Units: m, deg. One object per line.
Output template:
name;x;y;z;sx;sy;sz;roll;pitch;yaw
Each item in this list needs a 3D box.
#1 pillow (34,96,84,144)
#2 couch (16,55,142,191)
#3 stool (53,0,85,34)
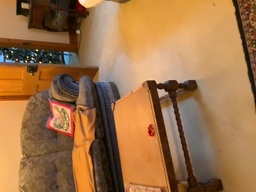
pillow;-0.750;0.260;2.320;0.350;0.390;0.080;-45;0;3
couch;-0.570;0.810;2.160;1.080;0.930;2.090;-38;58;55
stool;-0.940;-1.260;3.350;0.440;0.380;0.330;-26;69;58
